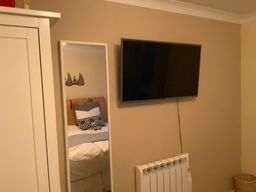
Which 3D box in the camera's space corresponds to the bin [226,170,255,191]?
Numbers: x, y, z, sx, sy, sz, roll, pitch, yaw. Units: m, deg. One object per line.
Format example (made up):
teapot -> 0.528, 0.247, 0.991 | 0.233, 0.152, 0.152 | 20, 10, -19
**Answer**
bin -> 1.540, 1.220, 2.810 | 0.300, 0.300, 0.330 | -5, 5, -30
